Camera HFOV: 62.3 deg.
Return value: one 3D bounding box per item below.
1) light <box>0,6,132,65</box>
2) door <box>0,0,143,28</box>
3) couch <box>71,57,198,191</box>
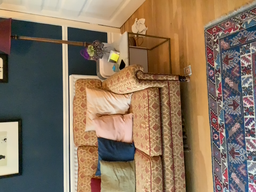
[{"bbox_3d":[-0.800,-0.700,2.700,0.470,1.680,0.400,-7,83,62],"label":"light"},{"bbox_3d":[-0.910,-1.190,2.460,0.980,2.080,0.090,-14,77,61],"label":"door"},{"bbox_3d":[-0.010,0.790,2.110,1.030,0.860,2.060,-10,81,62],"label":"couch"}]
